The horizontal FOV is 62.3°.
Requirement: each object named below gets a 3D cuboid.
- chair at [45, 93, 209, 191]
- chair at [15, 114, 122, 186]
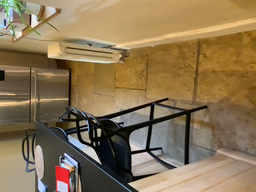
[{"bbox_3d":[0.020,0.270,1.500,0.510,1.010,0.490,17,104,51],"label":"chair"},{"bbox_3d":[-0.640,0.510,2.340,0.550,1.000,0.510,3,93,52],"label":"chair"}]
